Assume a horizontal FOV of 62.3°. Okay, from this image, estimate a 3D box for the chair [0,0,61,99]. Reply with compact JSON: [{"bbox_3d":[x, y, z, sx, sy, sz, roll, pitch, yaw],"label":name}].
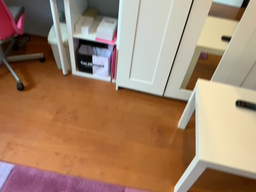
[{"bbox_3d":[-0.990,-0.510,1.560,0.670,0.800,0.650,-22,53,-27],"label":"chair"}]
